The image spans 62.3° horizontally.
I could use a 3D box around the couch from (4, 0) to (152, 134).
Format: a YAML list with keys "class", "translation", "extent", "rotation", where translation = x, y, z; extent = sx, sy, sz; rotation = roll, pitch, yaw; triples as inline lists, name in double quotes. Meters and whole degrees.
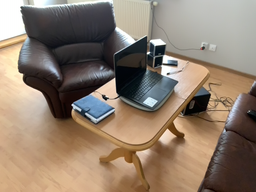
- class: "couch"
  translation: [-0.510, -0.400, 2.230]
  extent: [1.120, 0.940, 0.950]
  rotation: [-13, 37, -20]
